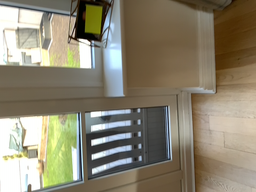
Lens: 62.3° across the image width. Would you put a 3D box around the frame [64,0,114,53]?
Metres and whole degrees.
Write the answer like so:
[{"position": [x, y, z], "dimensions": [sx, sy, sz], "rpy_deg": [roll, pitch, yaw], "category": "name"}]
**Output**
[{"position": [-0.220, -0.380, 1.130], "dimensions": [0.280, 0.160, 0.200], "rpy_deg": [-23, 73, 57], "category": "frame"}]
